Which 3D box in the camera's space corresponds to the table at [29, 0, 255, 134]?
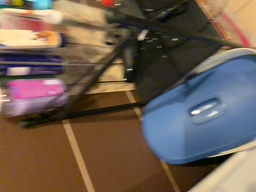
[{"bbox_3d":[0.160,-0.210,0.870,0.370,0.880,0.440,-41,67,38],"label":"table"}]
